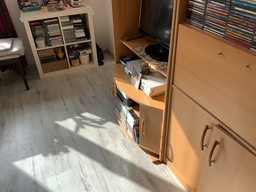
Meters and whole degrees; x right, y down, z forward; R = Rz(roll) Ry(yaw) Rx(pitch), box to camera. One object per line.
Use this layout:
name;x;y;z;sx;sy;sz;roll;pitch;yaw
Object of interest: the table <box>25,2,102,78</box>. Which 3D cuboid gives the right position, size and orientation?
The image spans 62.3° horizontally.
table;-0.830;-0.770;2.850;0.790;0.770;0.460;-16;38;-20
